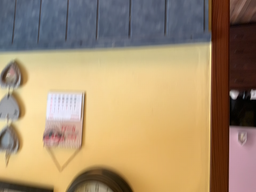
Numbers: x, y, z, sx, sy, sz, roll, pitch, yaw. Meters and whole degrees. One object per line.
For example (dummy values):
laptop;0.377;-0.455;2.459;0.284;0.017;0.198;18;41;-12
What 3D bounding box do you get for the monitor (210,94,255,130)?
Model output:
monitor;1.900;0.270;3.690;0.860;0.610;0.070;0;176;24
